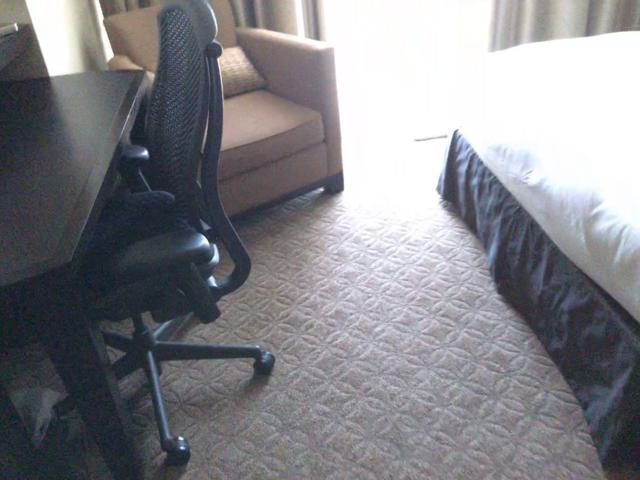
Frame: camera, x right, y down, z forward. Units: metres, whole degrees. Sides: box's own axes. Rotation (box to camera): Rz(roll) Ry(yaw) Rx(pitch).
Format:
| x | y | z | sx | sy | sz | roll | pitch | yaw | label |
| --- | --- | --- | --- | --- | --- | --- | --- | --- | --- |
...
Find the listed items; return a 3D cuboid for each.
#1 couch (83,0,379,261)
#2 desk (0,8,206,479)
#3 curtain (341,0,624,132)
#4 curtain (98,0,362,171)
| x | y | z | sx | sy | sz | roll | pitch | yaw | label |
| --- | --- | --- | --- | --- | --- | --- | --- | --- | --- |
| -0.410 | -0.630 | 2.700 | 0.870 | 0.870 | 1.030 | -23 | 34 | -26 | couch |
| -0.870 | -0.020 | 1.740 | 0.750 | 1.000 | 1.460 | -8 | 30 | -2 | desk |
| 0.810 | -1.420 | 3.010 | 1.410 | 1.520 | 0.390 | -5 | 30 | 3 | curtain |
| -0.450 | -1.230 | 2.830 | 1.170 | 1.630 | 0.340 | -7 | 30 | -2 | curtain |
